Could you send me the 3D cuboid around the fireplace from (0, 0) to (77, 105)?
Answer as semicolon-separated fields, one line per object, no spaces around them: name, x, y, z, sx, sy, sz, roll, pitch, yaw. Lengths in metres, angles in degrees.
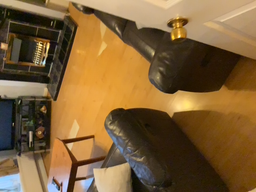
fireplace;-1.650;-0.600;3.350;0.580;1.170;1.420;50;125;40
